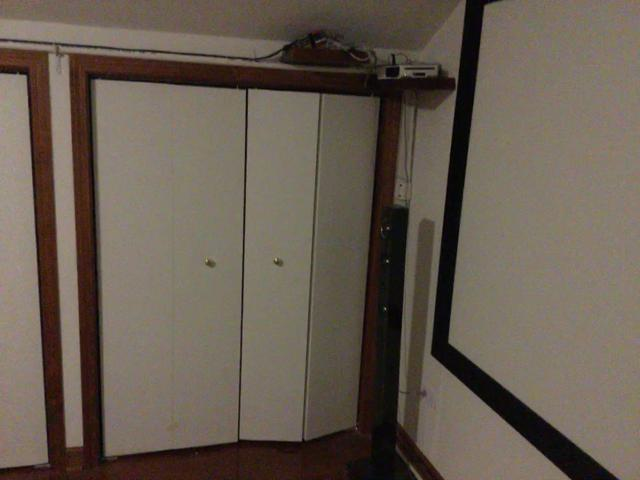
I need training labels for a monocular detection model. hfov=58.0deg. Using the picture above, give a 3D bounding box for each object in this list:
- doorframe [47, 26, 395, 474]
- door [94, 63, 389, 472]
[{"bbox_3d":[-0.390,0.090,2.410,1.300,1.710,0.140,0,13,-18],"label":"doorframe"},{"bbox_3d":[-0.330,0.150,2.450,1.140,1.620,0.130,0,13,-18],"label":"door"}]
